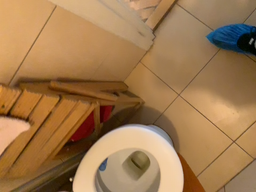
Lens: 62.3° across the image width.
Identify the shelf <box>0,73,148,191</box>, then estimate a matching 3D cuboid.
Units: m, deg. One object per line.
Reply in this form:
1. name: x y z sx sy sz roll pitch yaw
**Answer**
1. shelf: -0.190 0.110 0.860 0.130 0.870 0.360 40 106 14
